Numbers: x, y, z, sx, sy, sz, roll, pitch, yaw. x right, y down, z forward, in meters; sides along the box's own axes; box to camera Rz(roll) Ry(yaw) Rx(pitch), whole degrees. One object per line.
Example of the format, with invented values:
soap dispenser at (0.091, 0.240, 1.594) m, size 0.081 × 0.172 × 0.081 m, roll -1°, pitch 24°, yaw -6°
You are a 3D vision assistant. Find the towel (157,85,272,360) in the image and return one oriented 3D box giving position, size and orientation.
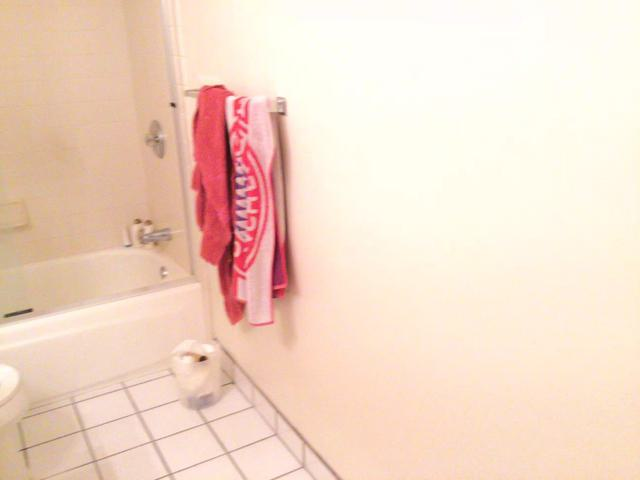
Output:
towel at (-0.360, -0.070, 1.990) m, size 0.190 × 0.880 × 0.310 m, roll -13°, pitch 19°, yaw -28°

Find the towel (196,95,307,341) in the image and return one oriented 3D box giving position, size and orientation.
towel at (-0.210, -0.080, 1.790) m, size 0.170 × 0.700 × 0.290 m, roll -13°, pitch 19°, yaw -28°

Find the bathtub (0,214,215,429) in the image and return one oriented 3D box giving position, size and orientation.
bathtub at (-1.340, 0.350, 2.580) m, size 1.450 × 0.530 × 0.870 m, roll -13°, pitch 19°, yaw -28°

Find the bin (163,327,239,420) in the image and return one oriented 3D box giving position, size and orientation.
bin at (-0.490, 0.540, 2.380) m, size 0.210 × 0.250 × 0.240 m, roll -13°, pitch 19°, yaw -28°
